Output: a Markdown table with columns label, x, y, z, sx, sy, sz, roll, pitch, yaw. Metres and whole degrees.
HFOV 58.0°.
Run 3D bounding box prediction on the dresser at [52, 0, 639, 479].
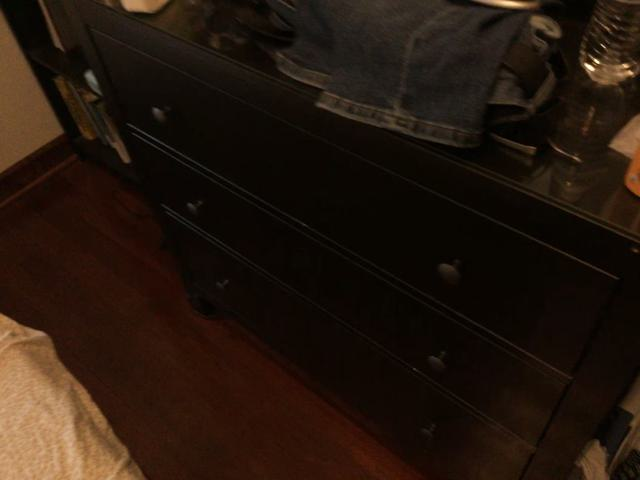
| label | x | y | z | sx | sy | sz | roll | pitch | yaw |
| --- | --- | --- | --- | --- | --- | --- | --- | --- | --- |
| dresser | 0.160 | -0.060 | 1.090 | 1.040 | 1.010 | 0.510 | 30 | 57 | 28 |
